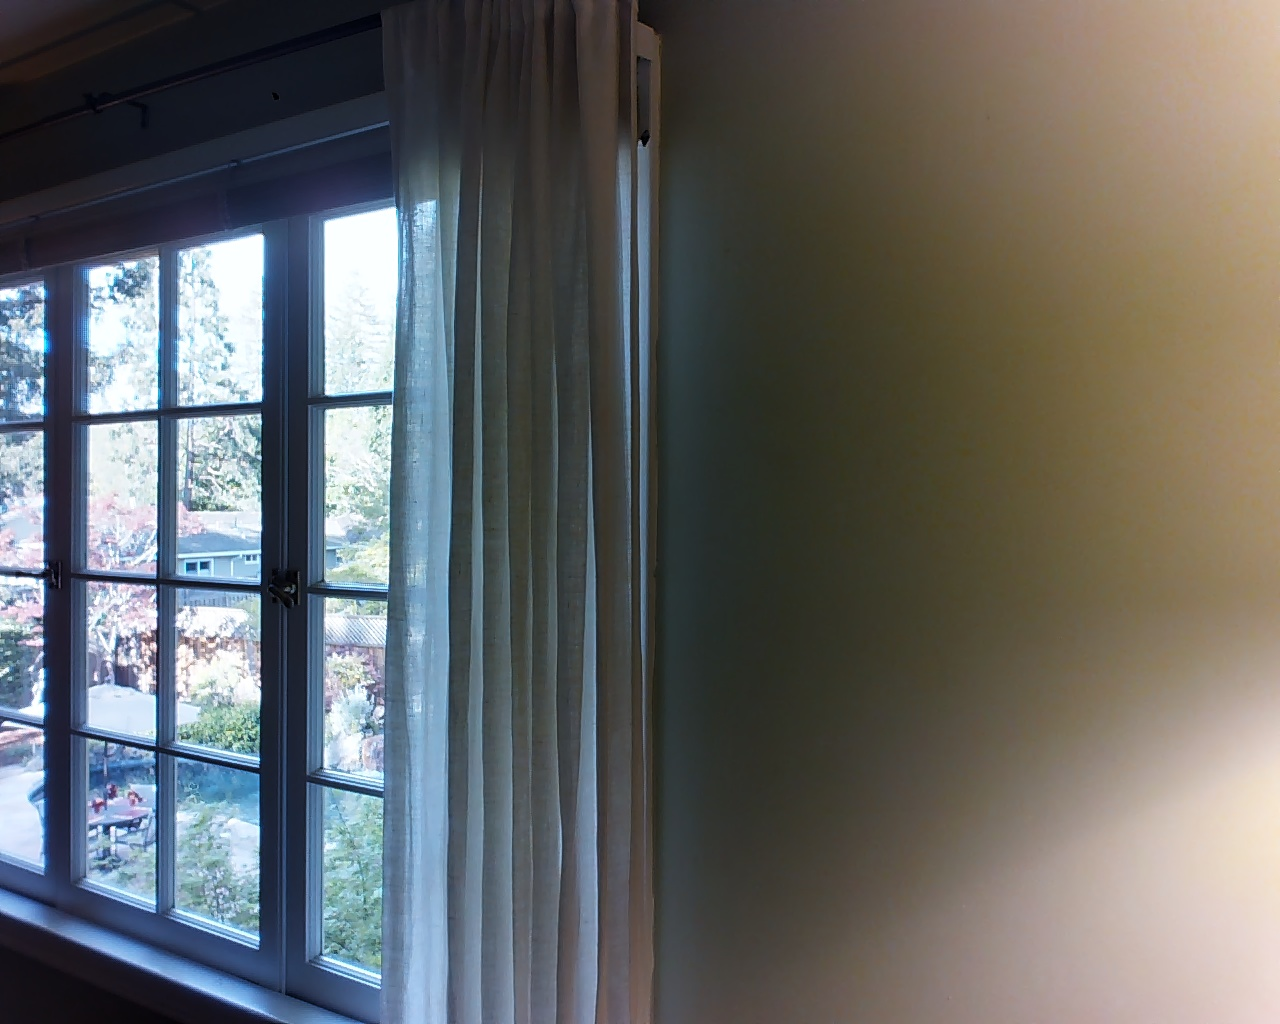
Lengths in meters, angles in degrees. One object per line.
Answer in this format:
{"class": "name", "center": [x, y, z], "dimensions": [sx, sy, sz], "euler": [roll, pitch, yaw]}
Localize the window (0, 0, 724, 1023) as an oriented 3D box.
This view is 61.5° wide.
{"class": "window", "center": [-0.820, 0.450, 1.710], "dimensions": [2.010, 2.260, 0.240], "euler": [1, 0, 33]}
